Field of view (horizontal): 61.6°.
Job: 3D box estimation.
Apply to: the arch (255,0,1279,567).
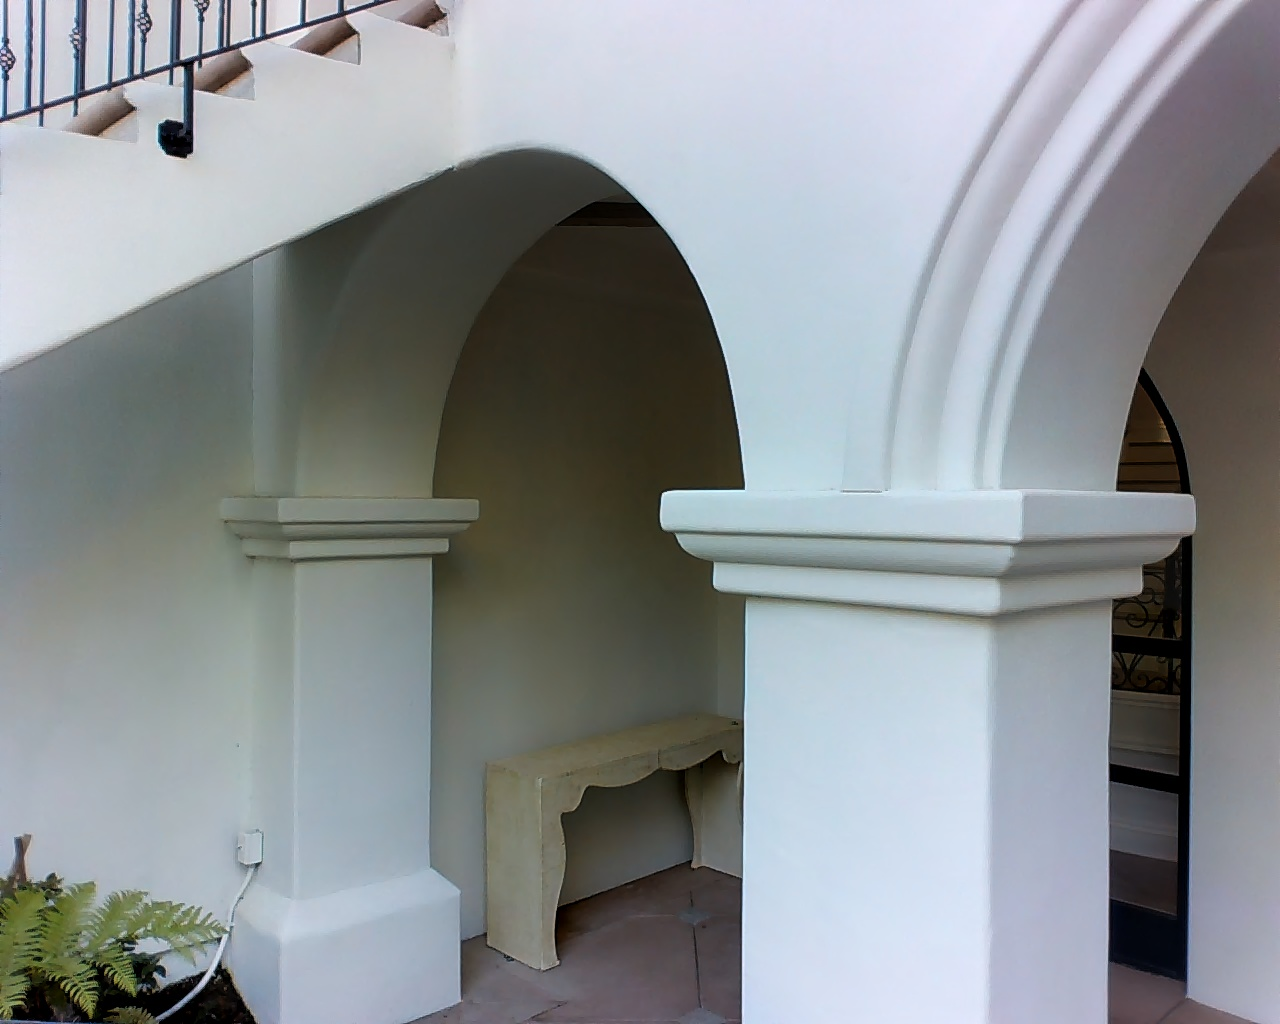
[{"bbox_3d":[1.679,-0.560,1.380,0.830,1.280,8.209,0,0,-44],"label":"arch"}]
